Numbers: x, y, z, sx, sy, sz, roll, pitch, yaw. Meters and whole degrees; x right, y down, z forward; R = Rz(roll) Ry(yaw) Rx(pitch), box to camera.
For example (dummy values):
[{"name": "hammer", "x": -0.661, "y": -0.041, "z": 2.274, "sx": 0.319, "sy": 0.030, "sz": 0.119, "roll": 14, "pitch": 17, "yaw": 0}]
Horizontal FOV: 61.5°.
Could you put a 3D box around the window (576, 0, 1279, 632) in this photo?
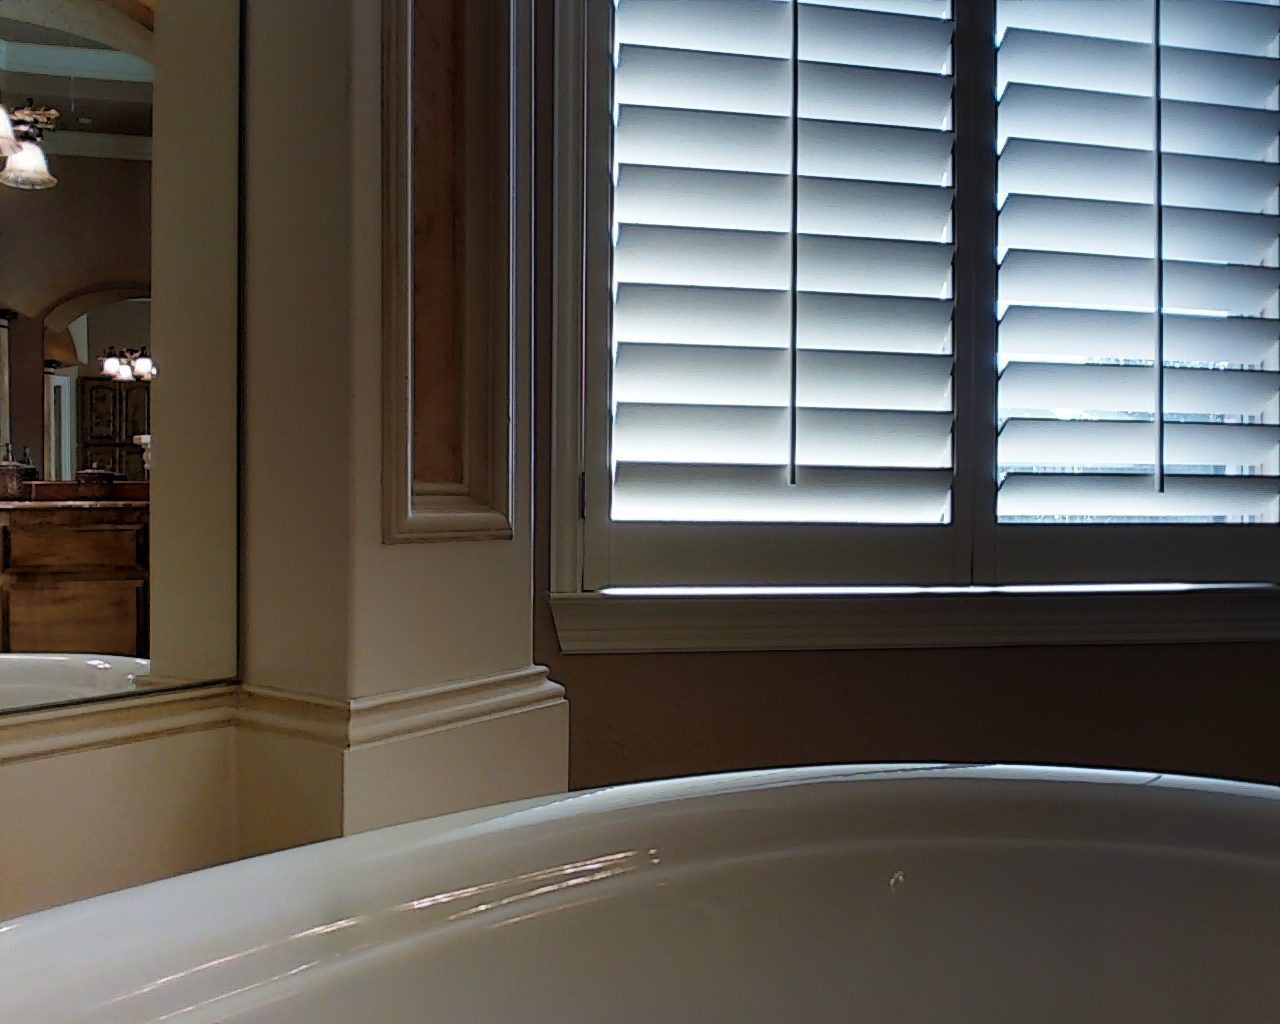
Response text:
[{"name": "window", "x": 0.660, "y": -0.890, "z": 1.970, "sx": 1.539, "sy": 2.181, "sz": 0.130, "roll": 0, "pitch": -1, "yaw": -11}]
